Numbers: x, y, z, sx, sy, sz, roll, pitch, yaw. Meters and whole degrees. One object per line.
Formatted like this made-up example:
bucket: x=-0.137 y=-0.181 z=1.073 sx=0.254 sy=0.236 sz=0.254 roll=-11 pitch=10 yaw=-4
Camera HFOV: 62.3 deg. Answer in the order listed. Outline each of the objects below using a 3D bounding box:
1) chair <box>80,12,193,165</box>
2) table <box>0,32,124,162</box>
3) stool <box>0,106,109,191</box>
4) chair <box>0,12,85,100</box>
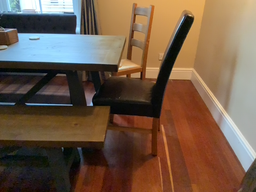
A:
chair: x=0.070 y=-0.070 z=1.610 sx=0.640 sy=1.010 sz=0.450 roll=6 pitch=26 yaw=10
table: x=-1.250 y=-0.100 z=1.920 sx=2.370 sy=0.760 sz=1.000 roll=2 pitch=26 yaw=2
stool: x=-1.310 y=0.340 z=1.380 sx=2.320 sy=0.450 sz=0.400 roll=2 pitch=26 yaw=2
chair: x=-1.310 y=-0.500 z=2.560 sx=1.400 sy=0.910 sz=0.530 roll=2 pitch=26 yaw=2
